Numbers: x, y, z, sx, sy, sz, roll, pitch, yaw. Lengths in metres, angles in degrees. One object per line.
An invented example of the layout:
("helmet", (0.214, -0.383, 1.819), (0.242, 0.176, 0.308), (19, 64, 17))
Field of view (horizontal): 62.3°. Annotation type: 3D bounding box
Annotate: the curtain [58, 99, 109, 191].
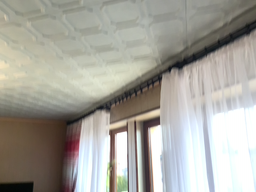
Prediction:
("curtain", (-0.910, 1.660, 3.800), (0.140, 2.720, 2.410), (7, -18, -28))
